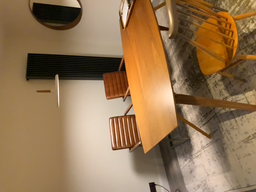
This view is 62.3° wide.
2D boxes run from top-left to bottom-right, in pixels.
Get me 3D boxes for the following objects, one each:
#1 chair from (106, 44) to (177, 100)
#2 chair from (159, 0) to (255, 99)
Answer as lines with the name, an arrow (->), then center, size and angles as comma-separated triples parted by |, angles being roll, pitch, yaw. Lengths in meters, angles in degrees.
chair -> 0.150, -0.320, 3.030 | 0.560, 0.790, 0.530 | 118, 147, -55
chair -> 0.720, -0.330, 1.450 | 0.590, 0.760, 0.460 | 118, 147, -55
